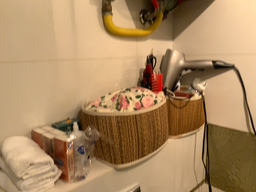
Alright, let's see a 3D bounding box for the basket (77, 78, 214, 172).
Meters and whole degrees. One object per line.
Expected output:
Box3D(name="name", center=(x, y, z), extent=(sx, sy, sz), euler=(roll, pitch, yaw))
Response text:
Box3D(name="basket", center=(0.100, 0.060, 0.780), extent=(0.530, 0.190, 0.170), euler=(-11, 15, -40))
